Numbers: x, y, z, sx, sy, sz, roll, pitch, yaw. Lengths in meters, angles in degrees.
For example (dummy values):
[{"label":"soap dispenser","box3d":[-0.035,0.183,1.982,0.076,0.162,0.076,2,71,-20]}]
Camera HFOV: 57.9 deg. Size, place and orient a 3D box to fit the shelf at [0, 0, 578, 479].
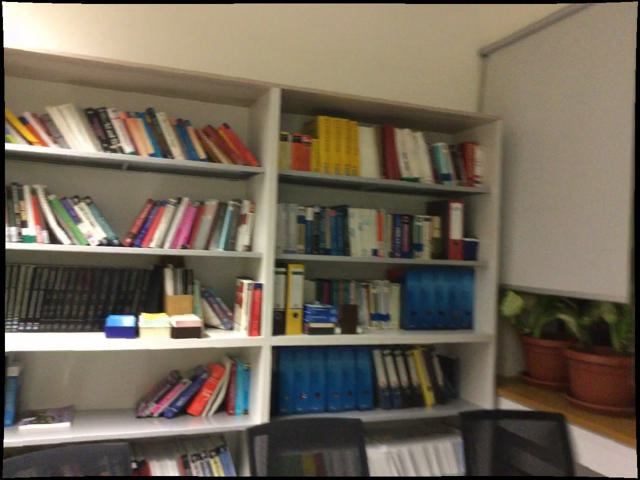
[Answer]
[{"label":"shelf","box3d":[-1.289,0.250,2.200,4.916,2.503,0.760,2,0,-20]}]
